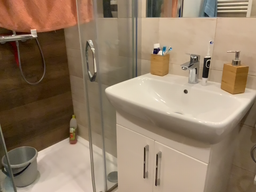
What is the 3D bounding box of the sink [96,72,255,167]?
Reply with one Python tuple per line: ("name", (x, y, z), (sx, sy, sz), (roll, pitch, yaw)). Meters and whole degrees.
("sink", (0.220, 0.040, 1.040), (0.610, 0.140, 0.460), (17, 27, 40))
